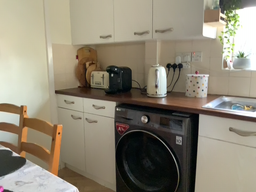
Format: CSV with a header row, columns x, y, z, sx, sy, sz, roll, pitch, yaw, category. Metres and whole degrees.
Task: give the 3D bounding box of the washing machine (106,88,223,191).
x,y,z,sx,sy,sz,roll,pitch,yaw,category
0.310,0.450,1.740,0.650,0.900,0.710,8,13,37,washing machine
